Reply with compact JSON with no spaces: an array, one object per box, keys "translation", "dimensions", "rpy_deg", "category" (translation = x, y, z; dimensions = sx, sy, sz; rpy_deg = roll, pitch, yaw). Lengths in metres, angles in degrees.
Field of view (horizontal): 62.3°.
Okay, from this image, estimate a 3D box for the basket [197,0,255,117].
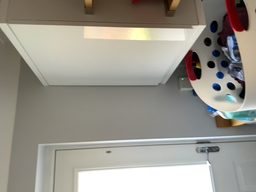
[{"translation":[0.540,-0.240,0.870],"dimensions":[0.290,0.310,0.590],"rpy_deg":[110,157,-69],"category":"basket"}]
